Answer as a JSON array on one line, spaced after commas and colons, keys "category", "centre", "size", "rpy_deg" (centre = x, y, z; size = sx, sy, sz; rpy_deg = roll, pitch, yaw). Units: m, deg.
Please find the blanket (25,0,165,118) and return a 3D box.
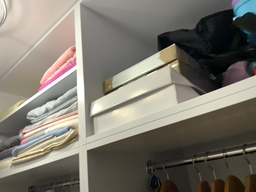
[{"category": "blanket", "centre": [-0.160, -0.130, 1.080], "size": [0.430, 0.300, 0.510], "rpy_deg": [-26, -29, 37]}]
